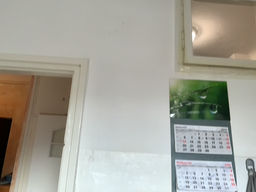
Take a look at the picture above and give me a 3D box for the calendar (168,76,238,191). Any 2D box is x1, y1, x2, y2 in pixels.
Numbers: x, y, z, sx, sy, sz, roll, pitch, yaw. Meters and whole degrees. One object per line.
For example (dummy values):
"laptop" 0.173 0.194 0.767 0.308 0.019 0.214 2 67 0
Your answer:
"calendar" 0.370 0.290 1.070 0.330 0.800 0.030 4 -16 -3
